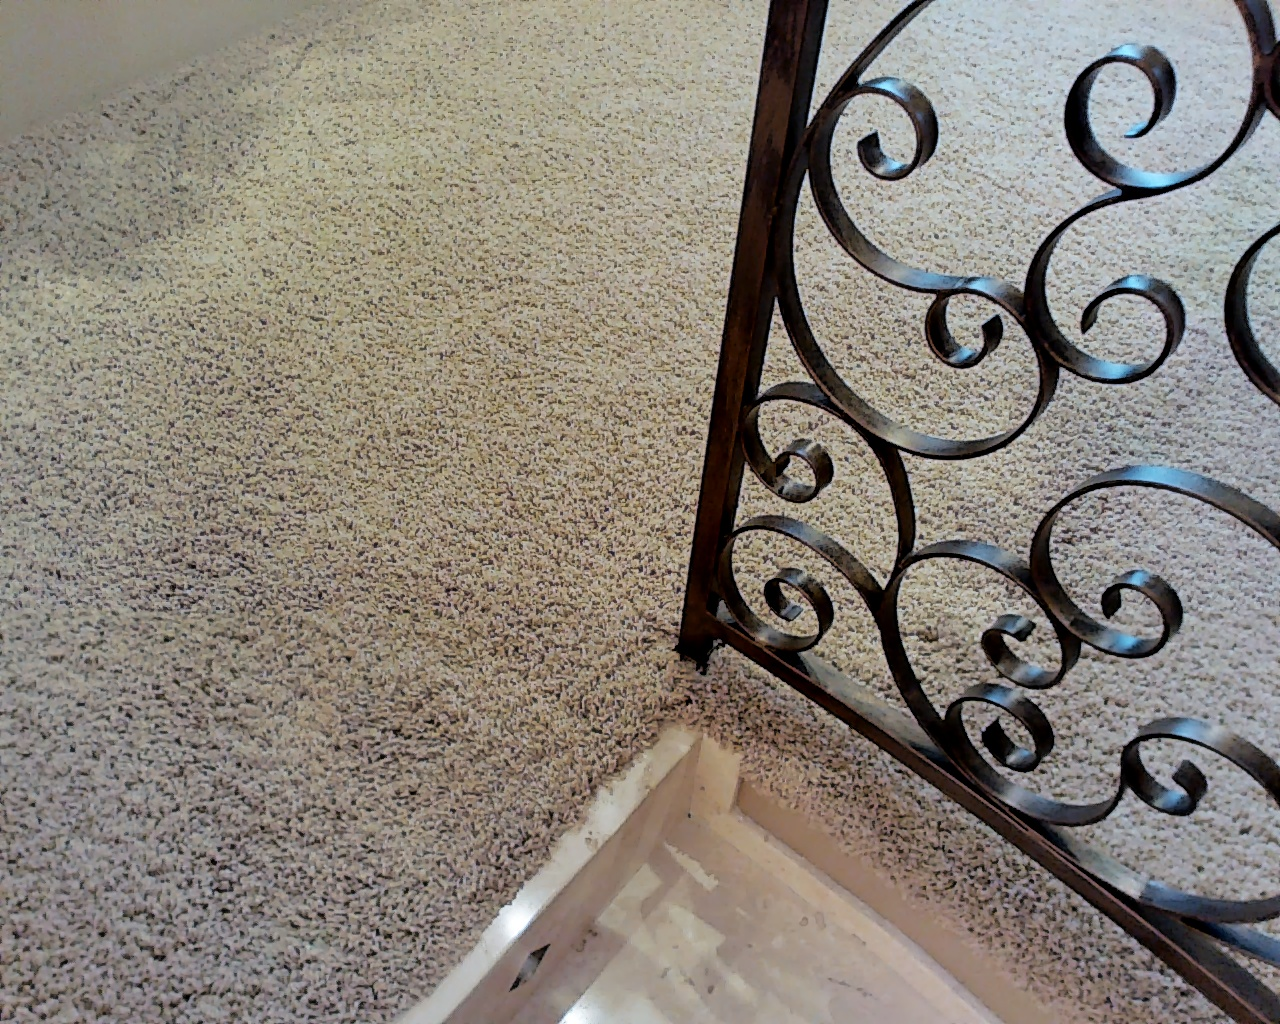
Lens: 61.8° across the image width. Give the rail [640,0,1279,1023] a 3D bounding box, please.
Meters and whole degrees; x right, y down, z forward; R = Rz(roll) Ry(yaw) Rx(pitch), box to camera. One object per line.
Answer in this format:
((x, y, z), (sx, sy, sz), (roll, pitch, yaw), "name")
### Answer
((0.370, -0.010, 0.800), (0.830, 0.940, 0.110), (36, 52, 27), "rail")
